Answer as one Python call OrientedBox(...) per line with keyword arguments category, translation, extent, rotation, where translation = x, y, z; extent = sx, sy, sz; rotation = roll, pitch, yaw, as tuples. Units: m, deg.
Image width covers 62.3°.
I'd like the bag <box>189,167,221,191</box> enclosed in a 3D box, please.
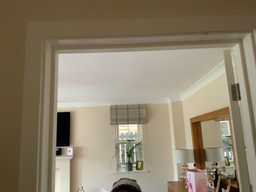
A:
OrientedBox(category="bag", translation=(0.850, 0.970, 2.350), extent=(0.250, 0.310, 0.240), rotation=(-2, -11, -2))
